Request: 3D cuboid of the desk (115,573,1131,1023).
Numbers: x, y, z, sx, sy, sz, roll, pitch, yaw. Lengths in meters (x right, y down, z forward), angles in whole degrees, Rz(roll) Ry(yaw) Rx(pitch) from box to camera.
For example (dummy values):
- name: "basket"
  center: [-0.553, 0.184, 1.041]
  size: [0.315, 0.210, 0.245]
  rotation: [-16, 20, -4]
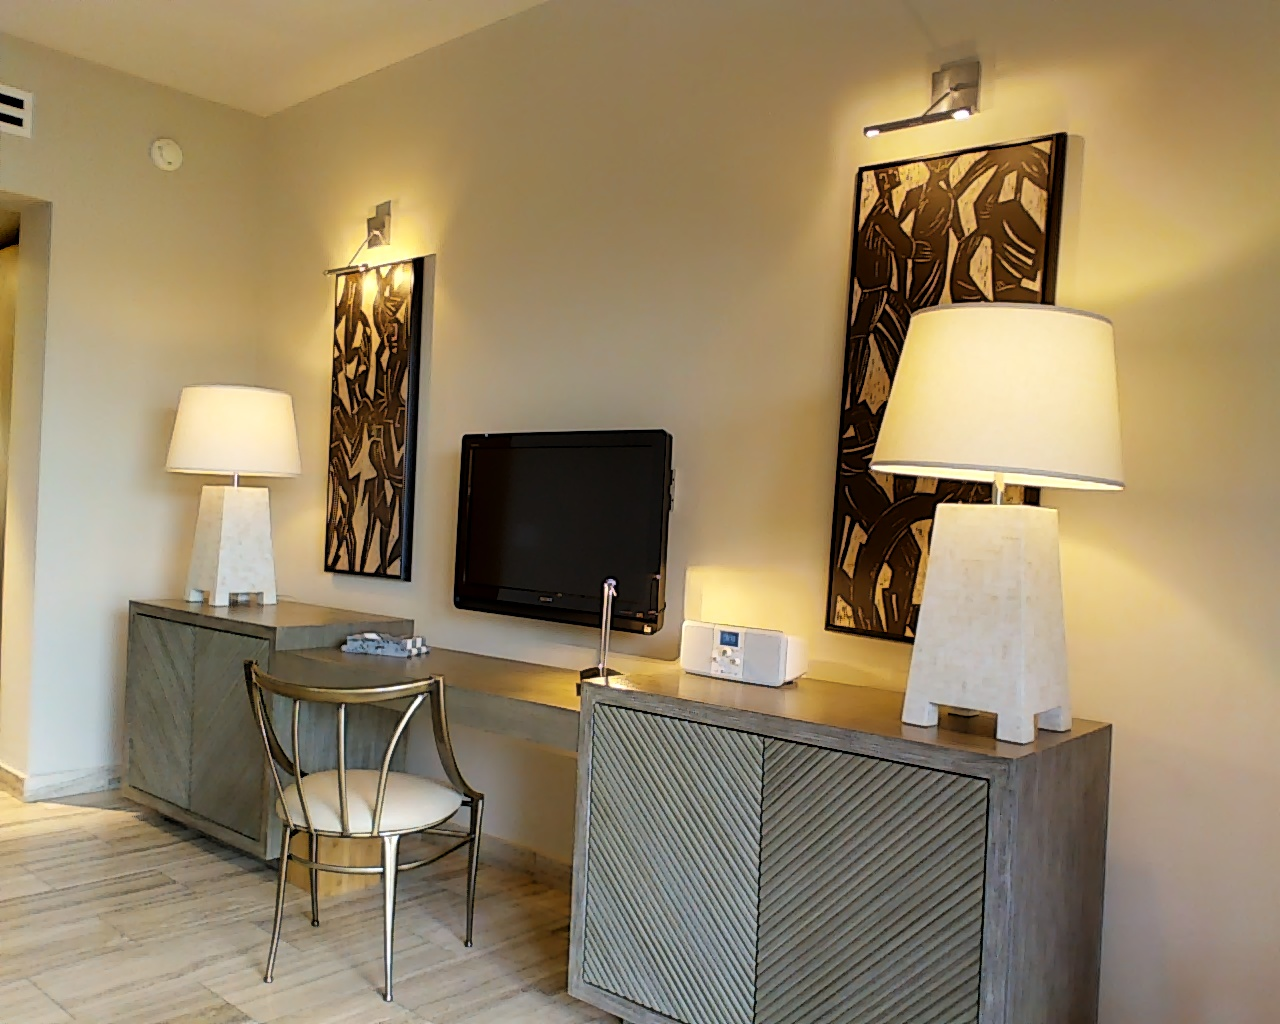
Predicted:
- name: "desk"
  center: [-0.480, 0.770, 3.370]
  size: [3.580, 0.900, 0.730]
  rotation: [2, 0, 41]

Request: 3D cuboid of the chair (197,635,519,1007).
- name: "chair"
  center: [-0.740, 0.780, 2.930]
  size: [0.610, 0.790, 0.570]
  rotation: [2, 0, 16]

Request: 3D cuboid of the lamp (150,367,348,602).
- name: "lamp"
  center: [-1.560, -0.100, 4.310]
  size: [0.450, 0.860, 0.570]
  rotation: [2, 0, 42]

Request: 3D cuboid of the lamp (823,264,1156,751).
- name: "lamp"
  center: [0.730, -0.010, 2.250]
  size: [0.500, 0.870, 0.430]
  rotation: [2, 0, 41]
